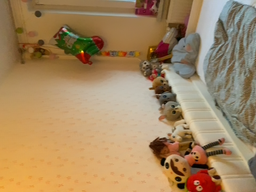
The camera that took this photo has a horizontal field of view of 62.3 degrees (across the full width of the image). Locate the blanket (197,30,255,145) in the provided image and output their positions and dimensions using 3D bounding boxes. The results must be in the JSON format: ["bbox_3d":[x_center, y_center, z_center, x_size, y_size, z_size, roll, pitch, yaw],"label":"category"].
[{"bbox_3d":[0.750,-0.120,1.540,0.860,0.070,0.430,-101,13,-53],"label":"blanket"}]

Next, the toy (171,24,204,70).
[{"bbox_3d":[0.600,-0.500,2.190,0.230,0.170,0.400,-100,13,-50],"label":"toy"}]
